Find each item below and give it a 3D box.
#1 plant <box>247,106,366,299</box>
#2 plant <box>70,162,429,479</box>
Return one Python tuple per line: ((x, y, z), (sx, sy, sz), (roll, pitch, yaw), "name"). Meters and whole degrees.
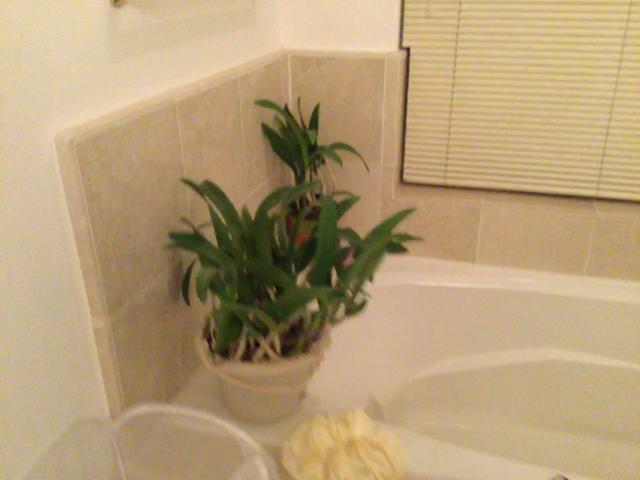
((-0.020, -0.120, 1.680), (0.240, 0.480, 0.280), (4, 24, 18), "plant")
((-0.070, 0.150, 1.090), (0.470, 0.470, 0.460), (4, 24, 18), "plant")
